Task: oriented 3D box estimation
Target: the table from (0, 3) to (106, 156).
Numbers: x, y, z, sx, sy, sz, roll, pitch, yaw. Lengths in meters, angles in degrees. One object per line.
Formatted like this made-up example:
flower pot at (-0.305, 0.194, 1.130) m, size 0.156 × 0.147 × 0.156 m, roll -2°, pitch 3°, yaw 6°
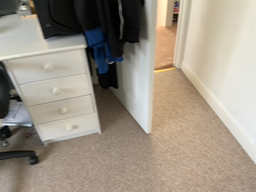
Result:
table at (-0.860, -0.090, 1.440) m, size 1.280 × 0.720 × 0.650 m, roll -9°, pitch 42°, yaw -8°
